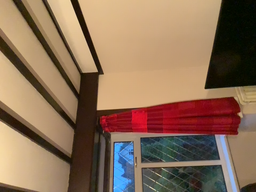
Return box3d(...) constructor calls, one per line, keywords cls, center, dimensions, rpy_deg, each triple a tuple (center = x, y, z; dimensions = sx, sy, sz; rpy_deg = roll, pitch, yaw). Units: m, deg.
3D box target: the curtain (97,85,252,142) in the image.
box3d(cls="curtain", center=(0.530, 0.260, 2.780), dimensions=(0.610, 1.750, 0.430), rpy_deg=(78, -171, -60))
